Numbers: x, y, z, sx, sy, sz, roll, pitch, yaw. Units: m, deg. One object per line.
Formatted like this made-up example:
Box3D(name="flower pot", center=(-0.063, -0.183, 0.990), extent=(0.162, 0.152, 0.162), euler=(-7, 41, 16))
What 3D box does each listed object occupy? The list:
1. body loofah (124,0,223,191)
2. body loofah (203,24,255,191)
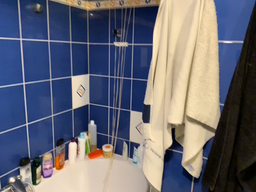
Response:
Box3D(name="body loofah", center=(0.170, 0.020, 0.870), extent=(0.310, 0.910, 0.160), euler=(7, 14, 23))
Box3D(name="body loofah", center=(0.490, 0.210, 0.790), extent=(0.350, 0.900, 0.130), euler=(7, 14, 24))
